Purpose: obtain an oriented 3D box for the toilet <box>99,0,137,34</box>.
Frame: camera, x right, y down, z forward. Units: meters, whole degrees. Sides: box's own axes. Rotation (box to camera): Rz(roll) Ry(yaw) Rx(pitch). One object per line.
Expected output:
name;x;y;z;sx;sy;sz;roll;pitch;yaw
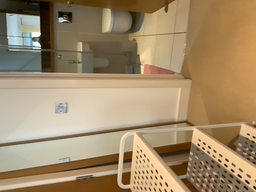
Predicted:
toilet;-0.160;-1.120;3.090;0.560;0.380;0.380;-146;58;-65
